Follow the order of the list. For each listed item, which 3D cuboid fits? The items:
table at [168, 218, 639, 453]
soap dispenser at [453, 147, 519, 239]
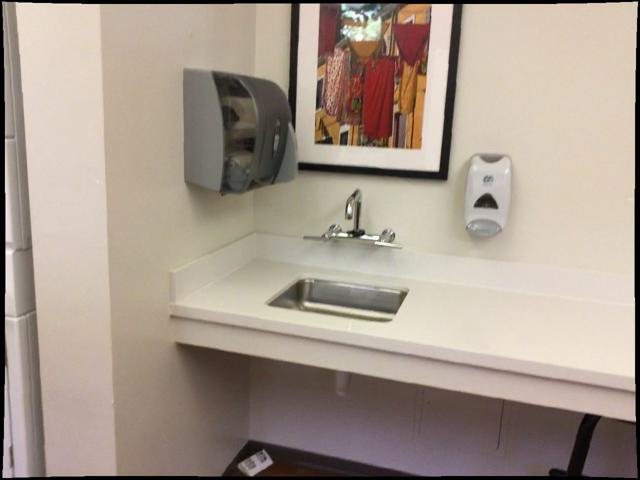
[{"bbox_3d":[0.749,0.260,1.680,2.308,0.360,0.630,5,14,17],"label":"table"},{"bbox_3d":[0.549,-0.160,1.920,0.180,0.280,0.120,5,14,17],"label":"soap dispenser"}]
